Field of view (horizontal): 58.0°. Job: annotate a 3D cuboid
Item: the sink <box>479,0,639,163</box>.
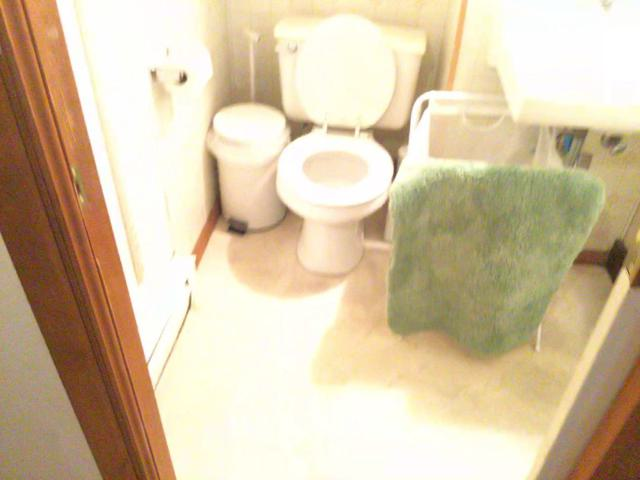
[{"bbox_3d":[0.740,-0.440,1.420,0.590,0.280,0.510,5,37,5],"label":"sink"}]
